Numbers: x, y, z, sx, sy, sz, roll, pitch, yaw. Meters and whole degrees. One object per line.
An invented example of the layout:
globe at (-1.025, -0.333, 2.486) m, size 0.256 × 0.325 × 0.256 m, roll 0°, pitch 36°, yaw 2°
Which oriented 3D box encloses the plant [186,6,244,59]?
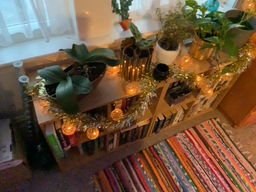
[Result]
plant at (0.440, -0.330, 1.100) m, size 0.160 × 0.160 × 0.180 m, roll -18°, pitch 57°, yaw -18°
